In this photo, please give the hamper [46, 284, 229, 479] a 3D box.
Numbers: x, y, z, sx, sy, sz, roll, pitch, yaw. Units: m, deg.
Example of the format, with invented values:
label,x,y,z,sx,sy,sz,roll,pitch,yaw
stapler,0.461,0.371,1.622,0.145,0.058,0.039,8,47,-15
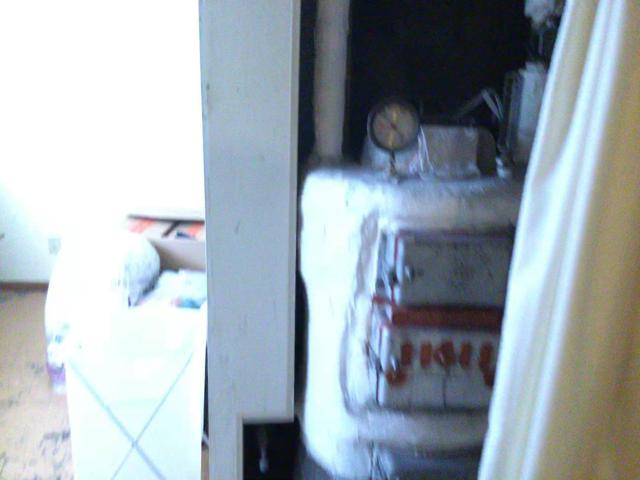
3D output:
label,x,y,z,sx,sy,sz,roll,pitch,yaw
hamper,-0.580,0.540,2.000,0.480,0.640,0.480,2,15,-4
